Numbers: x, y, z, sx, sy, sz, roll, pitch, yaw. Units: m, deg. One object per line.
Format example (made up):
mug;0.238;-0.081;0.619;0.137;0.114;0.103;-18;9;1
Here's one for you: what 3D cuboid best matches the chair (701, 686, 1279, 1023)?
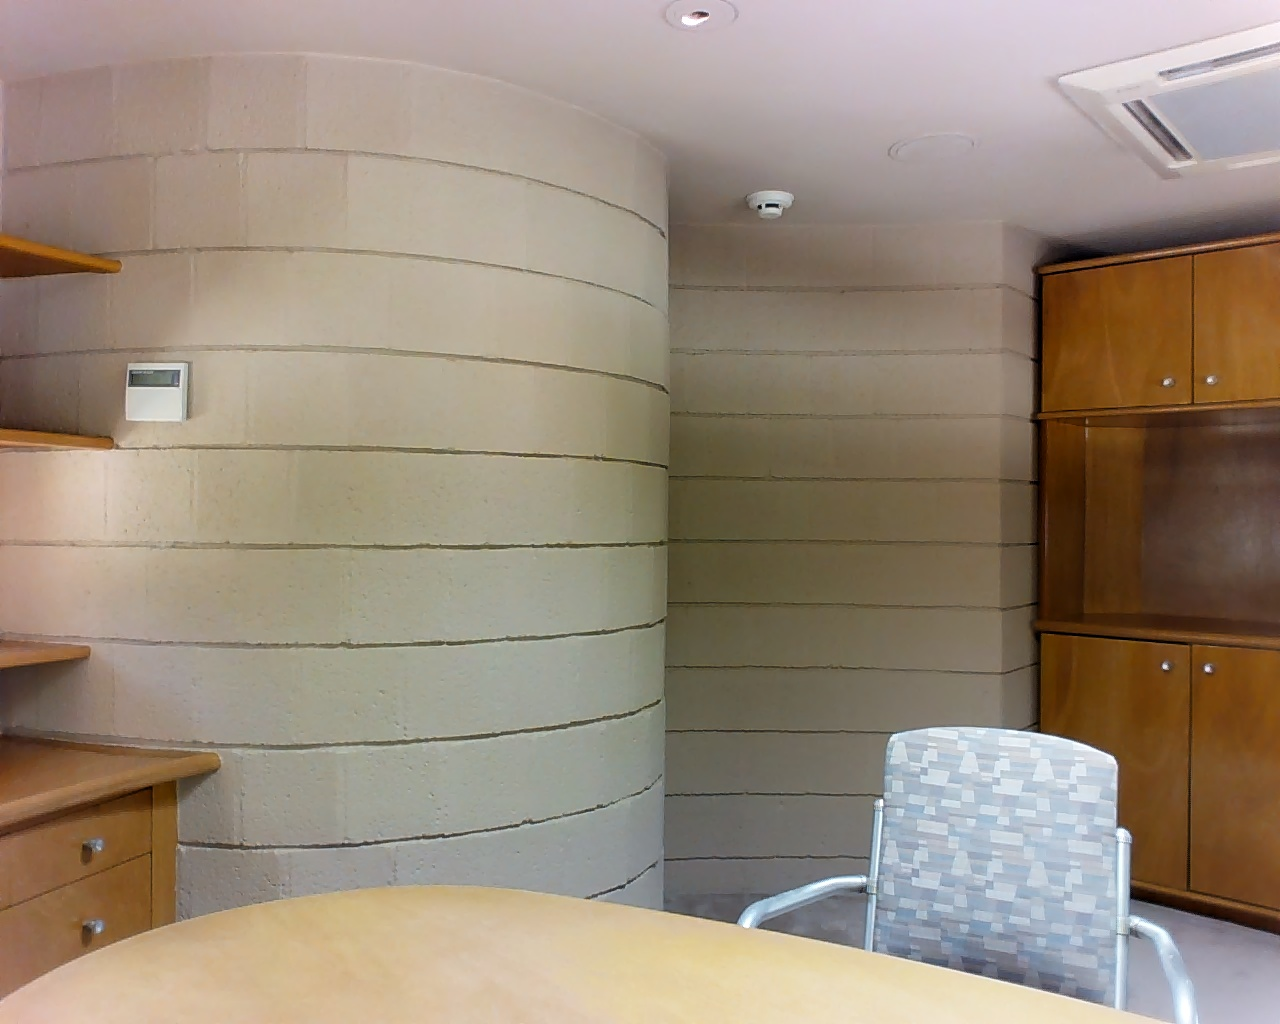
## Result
chair;0.500;0.750;1.480;0.630;0.880;0.630;1;0;27
